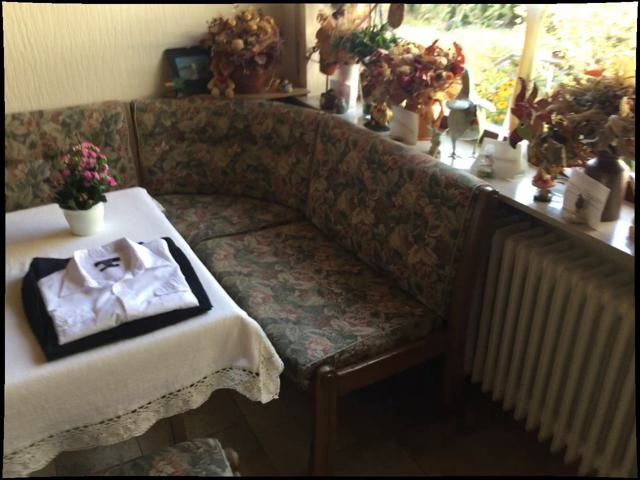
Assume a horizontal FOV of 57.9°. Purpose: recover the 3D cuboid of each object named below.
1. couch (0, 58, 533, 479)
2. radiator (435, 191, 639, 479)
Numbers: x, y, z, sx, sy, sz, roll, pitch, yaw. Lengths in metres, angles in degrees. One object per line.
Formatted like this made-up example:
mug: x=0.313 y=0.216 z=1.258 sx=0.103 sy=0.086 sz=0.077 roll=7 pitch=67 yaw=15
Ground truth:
couch: x=-0.749 y=0.100 z=1.930 sx=2.158 sy=0.911 sz=1.560 roll=-14 pitch=32 yaw=-24
radiator: x=0.829 y=0.420 z=1.600 sx=0.250 sy=0.681 sz=1.220 roll=-14 pitch=32 yaw=-24
